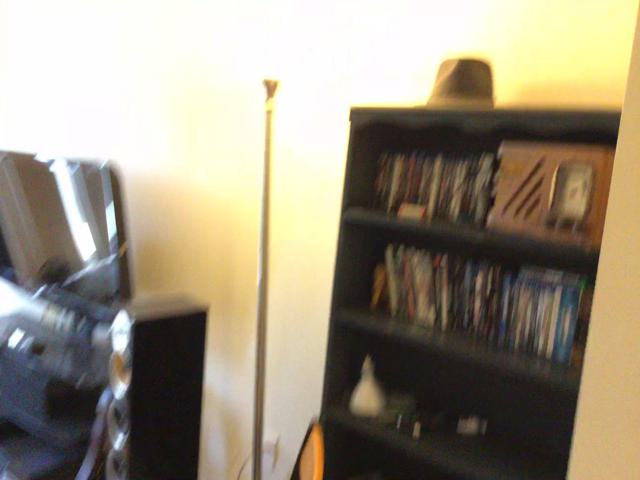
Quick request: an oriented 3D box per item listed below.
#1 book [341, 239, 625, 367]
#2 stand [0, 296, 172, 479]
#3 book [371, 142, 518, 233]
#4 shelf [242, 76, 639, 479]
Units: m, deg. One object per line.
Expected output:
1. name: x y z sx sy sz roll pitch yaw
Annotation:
1. book: 0.400 0.140 1.510 0.660 0.190 0.220 9 2 35
2. stand: -1.330 0.700 2.700 1.230 0.640 0.480 9 2 34
3. book: 0.350 -0.150 1.640 0.330 0.210 0.200 9 2 35
4. shelf: 0.330 0.460 1.570 0.890 1.640 0.520 9 2 34
